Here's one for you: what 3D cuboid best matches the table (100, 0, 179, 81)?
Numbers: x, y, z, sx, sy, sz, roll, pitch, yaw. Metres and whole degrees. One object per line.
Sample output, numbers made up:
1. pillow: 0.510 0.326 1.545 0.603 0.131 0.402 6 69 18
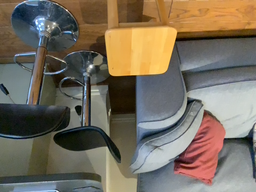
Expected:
1. table: 0.030 -0.340 1.090 0.320 0.390 0.330 -3 148 -3
